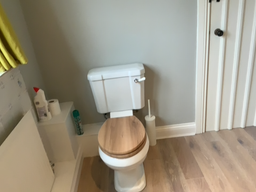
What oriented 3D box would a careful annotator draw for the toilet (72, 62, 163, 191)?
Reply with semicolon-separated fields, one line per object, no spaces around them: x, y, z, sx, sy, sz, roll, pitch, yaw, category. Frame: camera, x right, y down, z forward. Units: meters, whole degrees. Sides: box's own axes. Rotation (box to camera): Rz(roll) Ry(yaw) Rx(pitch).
-0.050;0.250;1.660;0.480;0.810;0.710;-7;26;-1;toilet
